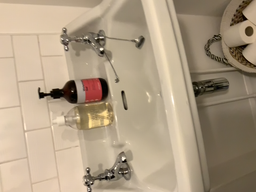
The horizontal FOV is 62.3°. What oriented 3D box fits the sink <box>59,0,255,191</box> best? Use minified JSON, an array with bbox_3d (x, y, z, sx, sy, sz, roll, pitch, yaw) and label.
[{"bbox_3d":[0.030,-0.020,0.600,0.410,0.290,0.590,-20,79,63],"label":"sink"}]
